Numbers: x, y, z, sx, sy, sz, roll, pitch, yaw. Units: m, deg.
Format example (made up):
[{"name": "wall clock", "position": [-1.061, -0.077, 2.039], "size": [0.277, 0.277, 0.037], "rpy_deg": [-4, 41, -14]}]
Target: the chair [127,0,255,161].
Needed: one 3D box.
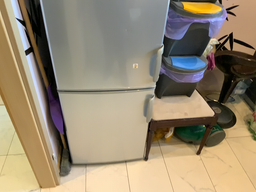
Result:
[{"name": "chair", "position": [0.330, -0.140, 1.630], "size": [0.490, 1.020, 0.740], "rpy_deg": [-4, 41, -11]}]
